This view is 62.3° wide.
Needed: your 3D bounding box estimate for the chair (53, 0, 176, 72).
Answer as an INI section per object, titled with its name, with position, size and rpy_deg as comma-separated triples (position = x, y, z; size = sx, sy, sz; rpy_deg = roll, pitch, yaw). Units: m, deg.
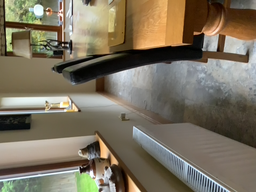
[chair]
position = -0.140, -0.560, 2.000
size = 0.440, 1.040, 0.600
rpy_deg = -150, 61, -64
